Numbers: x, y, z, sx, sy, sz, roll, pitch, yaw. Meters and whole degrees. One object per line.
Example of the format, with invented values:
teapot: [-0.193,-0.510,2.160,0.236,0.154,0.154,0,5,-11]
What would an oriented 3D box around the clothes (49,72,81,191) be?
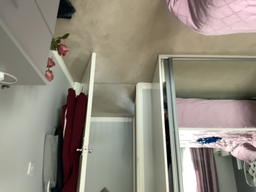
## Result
clothes: [-0.640,0.440,2.120,0.130,1.210,0.610,9,156,-19]
